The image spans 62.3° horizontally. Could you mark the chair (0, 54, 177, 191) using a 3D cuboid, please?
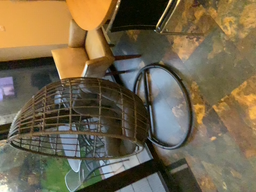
[{"bbox_3d":[-0.410,0.320,1.920,0.950,1.070,0.880,63,147,23],"label":"chair"}]

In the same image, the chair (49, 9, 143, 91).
[{"bbox_3d":[-0.420,-0.560,2.560,0.630,0.840,0.640,64,147,21],"label":"chair"}]

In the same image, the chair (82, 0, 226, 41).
[{"bbox_3d":[0.190,-0.730,1.450,0.450,0.870,0.450,65,148,20],"label":"chair"}]
